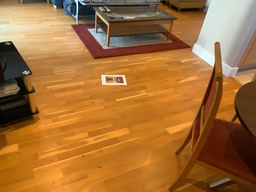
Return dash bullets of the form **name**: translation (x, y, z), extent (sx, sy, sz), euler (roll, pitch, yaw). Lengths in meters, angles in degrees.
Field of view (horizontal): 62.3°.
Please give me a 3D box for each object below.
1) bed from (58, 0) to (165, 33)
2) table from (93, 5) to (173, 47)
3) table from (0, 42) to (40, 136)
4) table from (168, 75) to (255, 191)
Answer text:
- **bed**: translation (-0.520, -2.100, 4.370), extent (1.560, 0.630, 2.160), euler (-11, 43, -24)
- **table**: translation (0.070, -1.190, 3.530), extent (1.160, 0.430, 0.570), euler (-11, 43, -24)
- **table**: translation (-1.130, -0.090, 1.910), extent (0.370, 0.460, 0.720), euler (-19, 46, -30)
- **table**: translation (1.010, 0.450, 1.400), extent (0.950, 0.780, 0.940), euler (-13, 44, -25)
